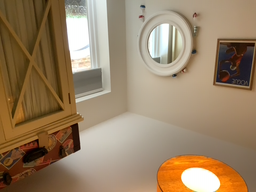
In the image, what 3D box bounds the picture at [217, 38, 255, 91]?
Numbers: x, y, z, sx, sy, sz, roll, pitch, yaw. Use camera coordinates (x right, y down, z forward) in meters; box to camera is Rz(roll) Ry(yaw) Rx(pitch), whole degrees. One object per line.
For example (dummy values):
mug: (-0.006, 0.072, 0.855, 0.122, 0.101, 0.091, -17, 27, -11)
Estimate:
picture: (0.970, -0.270, 1.790, 0.370, 0.420, 0.050, 14, -157, 38)
